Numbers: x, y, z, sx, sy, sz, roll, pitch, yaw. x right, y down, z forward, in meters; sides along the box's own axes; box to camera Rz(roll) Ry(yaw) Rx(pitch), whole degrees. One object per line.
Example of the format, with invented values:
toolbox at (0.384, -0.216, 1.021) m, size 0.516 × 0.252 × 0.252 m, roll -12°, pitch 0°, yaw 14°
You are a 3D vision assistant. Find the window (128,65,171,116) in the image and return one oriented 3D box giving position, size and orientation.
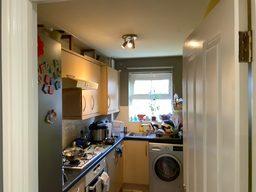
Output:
window at (0.440, -0.100, 4.290) m, size 0.850 × 1.000 × 0.090 m, roll -1°, pitch 0°, yaw 12°

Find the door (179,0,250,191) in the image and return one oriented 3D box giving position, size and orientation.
door at (0.370, 0.620, 1.060) m, size 0.050 × 1.980 × 0.810 m, roll -1°, pitch 0°, yaw 2°
